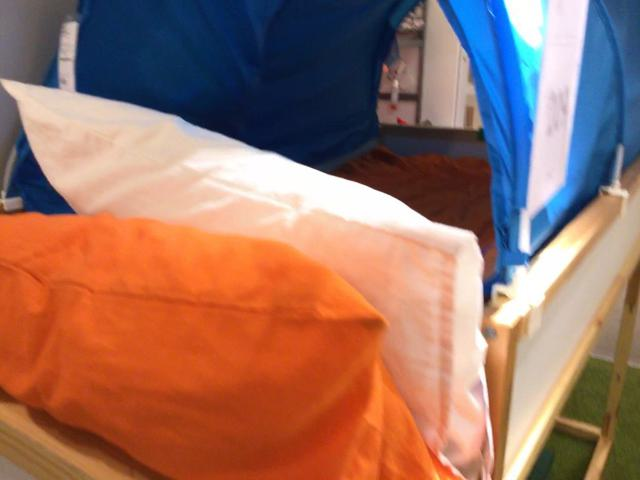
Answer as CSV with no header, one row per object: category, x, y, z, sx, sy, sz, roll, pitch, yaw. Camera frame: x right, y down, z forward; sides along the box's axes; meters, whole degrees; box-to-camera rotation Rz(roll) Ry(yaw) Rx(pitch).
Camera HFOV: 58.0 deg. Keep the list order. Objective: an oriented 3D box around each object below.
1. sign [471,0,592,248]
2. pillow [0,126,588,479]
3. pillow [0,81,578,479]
sign,0.260,-0.180,0.690,0.050,0.330,0.230,12,20,31
pillow,-0.180,0.120,0.630,0.750,0.400,0.400,12,20,32
pillow,-0.130,0.000,0.730,0.740,0.360,0.350,12,20,31
